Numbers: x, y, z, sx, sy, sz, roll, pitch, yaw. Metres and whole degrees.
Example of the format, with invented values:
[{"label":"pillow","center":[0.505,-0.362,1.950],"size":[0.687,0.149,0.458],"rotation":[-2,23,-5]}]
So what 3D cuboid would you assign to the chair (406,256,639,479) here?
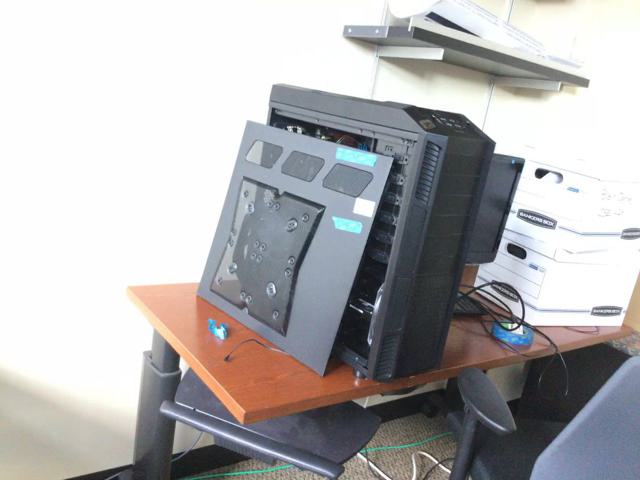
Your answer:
[{"label":"chair","center":[0.580,0.620,1.290],"size":[0.610,0.990,0.760],"rotation":[9,6,-1]}]
